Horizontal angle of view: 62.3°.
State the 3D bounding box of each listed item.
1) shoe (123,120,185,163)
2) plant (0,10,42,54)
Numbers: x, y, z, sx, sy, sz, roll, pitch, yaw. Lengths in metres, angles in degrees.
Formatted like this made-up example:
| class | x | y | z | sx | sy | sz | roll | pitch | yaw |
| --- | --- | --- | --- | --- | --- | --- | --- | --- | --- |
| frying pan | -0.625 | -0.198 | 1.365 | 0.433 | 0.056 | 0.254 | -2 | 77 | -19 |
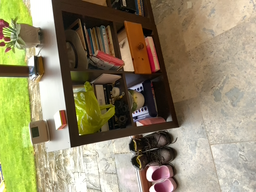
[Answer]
| class | x | y | z | sx | sy | sz | roll | pitch | yaw |
| --- | --- | --- | --- | --- | --- | --- | --- | --- | --- |
| shoe | 0.170 | 0.340 | 1.550 | 0.390 | 0.190 | 0.240 | -26 | 71 | 49 |
| plant | -0.660 | -0.370 | 1.270 | 0.180 | 0.220 | 0.170 | -16 | 79 | 51 |
